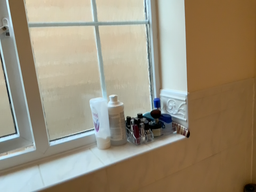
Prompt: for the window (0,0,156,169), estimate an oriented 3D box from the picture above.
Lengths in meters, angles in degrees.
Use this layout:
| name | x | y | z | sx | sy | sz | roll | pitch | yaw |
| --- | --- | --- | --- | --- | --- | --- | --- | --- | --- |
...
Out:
| name | x | y | z | sx | sy | sz | roll | pitch | yaw |
| --- | --- | --- | --- | --- | --- | --- | --- | --- | --- |
| window | -0.360 | -0.250 | 0.790 | 1.040 | 0.980 | 0.070 | -12 | 14 | -28 |
